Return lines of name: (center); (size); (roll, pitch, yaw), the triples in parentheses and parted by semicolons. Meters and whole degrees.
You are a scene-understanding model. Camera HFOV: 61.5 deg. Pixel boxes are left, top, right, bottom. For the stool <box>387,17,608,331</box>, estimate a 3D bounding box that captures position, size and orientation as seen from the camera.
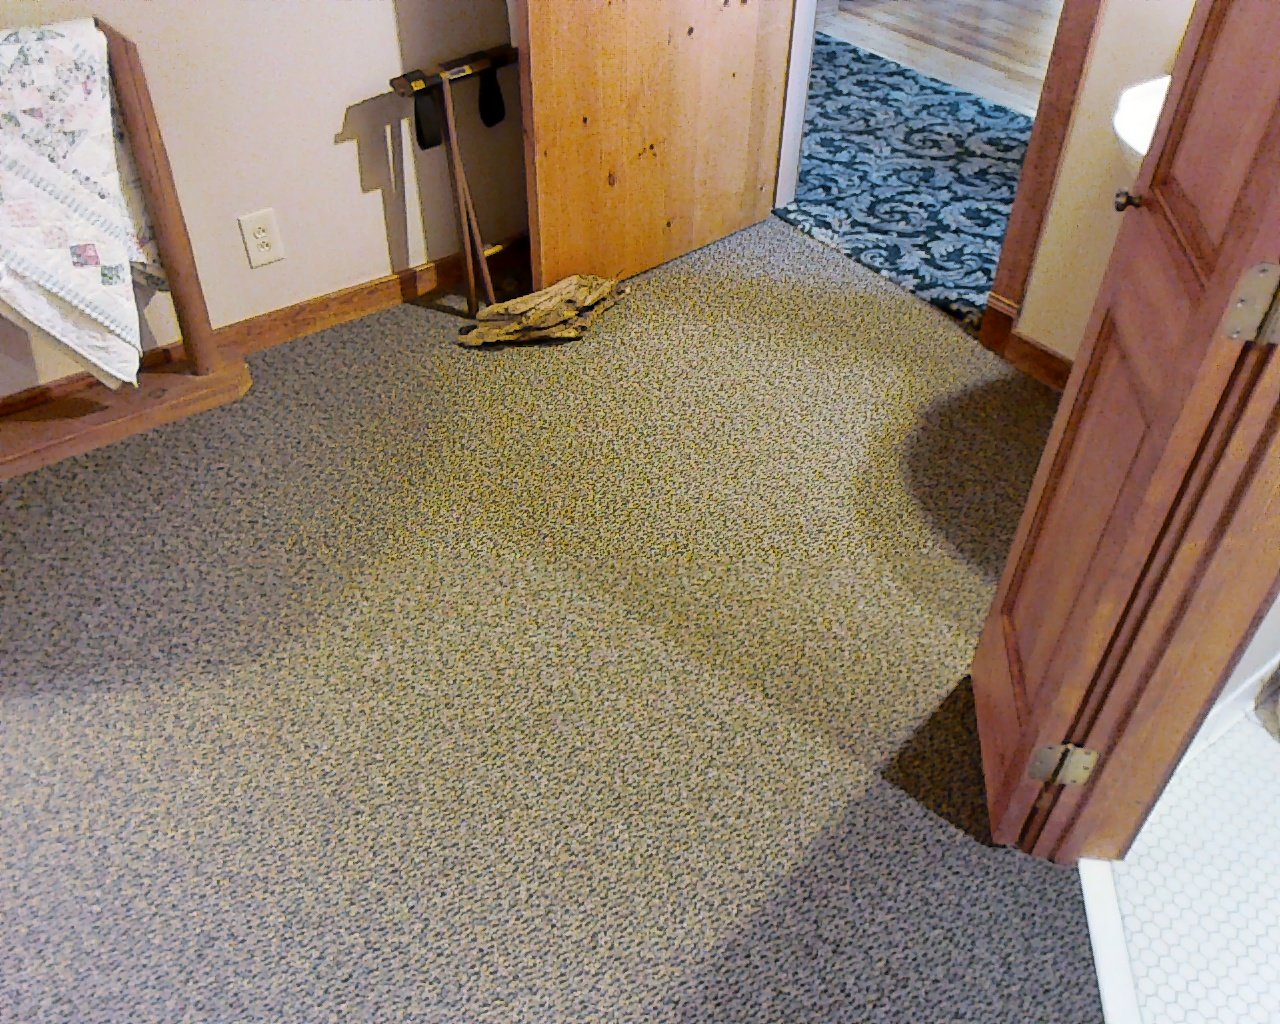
stool: (-0.350, -0.900, 2.880); (0.520, 0.660, 0.200); (-30, 50, -30)
